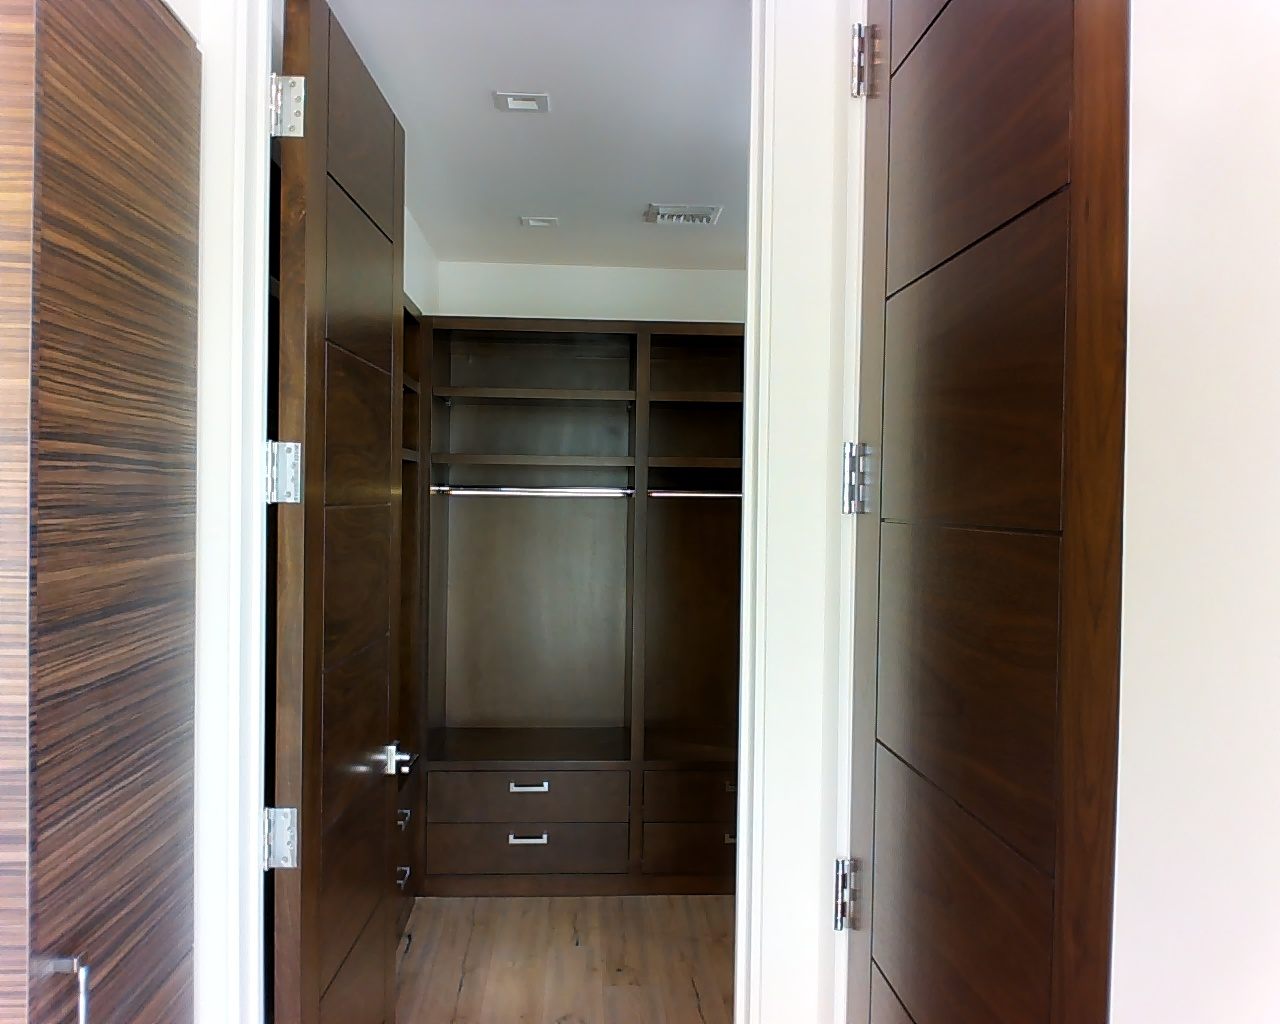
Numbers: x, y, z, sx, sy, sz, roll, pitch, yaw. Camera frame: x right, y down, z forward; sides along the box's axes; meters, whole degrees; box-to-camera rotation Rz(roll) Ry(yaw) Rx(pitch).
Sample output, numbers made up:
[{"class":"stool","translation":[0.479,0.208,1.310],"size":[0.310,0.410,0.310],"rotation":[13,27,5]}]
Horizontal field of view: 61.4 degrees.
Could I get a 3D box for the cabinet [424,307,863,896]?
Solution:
[{"class":"cabinet","translation":[0.000,0.350,4.460],"size":[1.660,2.240,0.630],"rotation":[1,1,-3]}]
